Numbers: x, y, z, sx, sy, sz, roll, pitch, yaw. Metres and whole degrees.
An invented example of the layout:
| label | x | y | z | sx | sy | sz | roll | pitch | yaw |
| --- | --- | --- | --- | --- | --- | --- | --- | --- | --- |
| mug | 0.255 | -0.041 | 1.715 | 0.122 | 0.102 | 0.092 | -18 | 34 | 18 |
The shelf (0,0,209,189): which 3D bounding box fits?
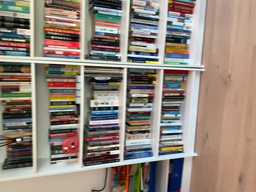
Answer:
| label | x | y | z | sx | sy | sz | roll | pitch | yaw |
| --- | --- | --- | --- | --- | --- | --- | --- | --- | --- |
| shelf | -0.370 | -0.260 | 1.600 | 0.350 | 2.080 | 1.660 | -161 | 72 | -66 |
